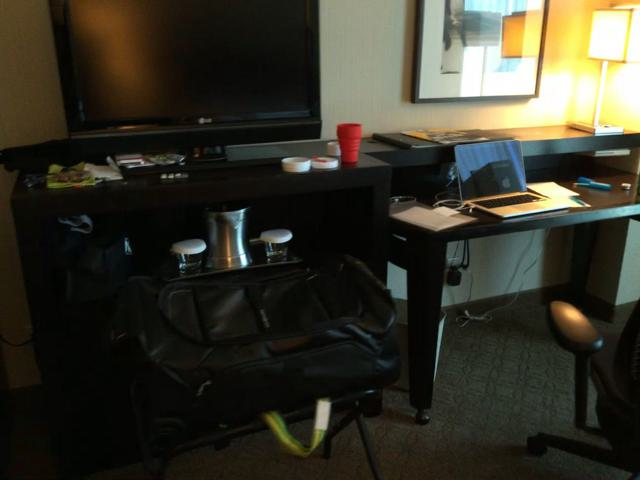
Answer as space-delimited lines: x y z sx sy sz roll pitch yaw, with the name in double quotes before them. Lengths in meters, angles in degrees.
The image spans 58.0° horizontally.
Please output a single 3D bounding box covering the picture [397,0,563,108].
"picture" 0.680 -0.990 2.350 0.710 0.880 0.090 -5 19 -22
